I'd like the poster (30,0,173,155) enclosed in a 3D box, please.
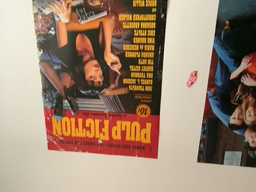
[{"bbox_3d":[-0.130,-0.140,1.010,0.620,0.900,0.030,3,-163,4],"label":"poster"}]

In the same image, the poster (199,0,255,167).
[{"bbox_3d":[0.670,-0.090,0.920,0.590,0.910,0.030,3,-163,4],"label":"poster"}]
